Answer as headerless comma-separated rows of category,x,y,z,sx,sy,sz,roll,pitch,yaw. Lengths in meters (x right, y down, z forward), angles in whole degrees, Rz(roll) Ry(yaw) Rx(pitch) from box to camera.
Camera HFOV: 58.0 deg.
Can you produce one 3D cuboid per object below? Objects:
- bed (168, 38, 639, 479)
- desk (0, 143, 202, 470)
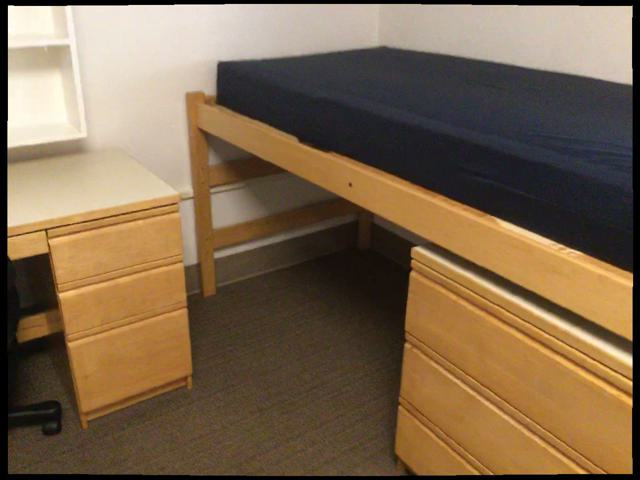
bed,0.459,0.020,2.000,1.099,1.102,2.259,-15,30,-30
desk,-1.158,0.230,1.890,1.288,0.771,0.700,-15,30,-30
